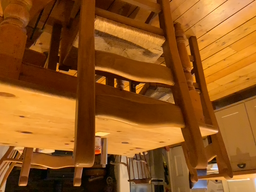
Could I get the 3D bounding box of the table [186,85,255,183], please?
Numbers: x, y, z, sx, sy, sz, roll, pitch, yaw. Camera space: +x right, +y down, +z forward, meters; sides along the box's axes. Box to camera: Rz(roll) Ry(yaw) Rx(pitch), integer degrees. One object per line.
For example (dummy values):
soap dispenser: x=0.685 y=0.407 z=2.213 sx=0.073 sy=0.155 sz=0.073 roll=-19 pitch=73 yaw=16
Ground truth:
table: x=1.810 y=0.380 z=2.290 sx=0.950 sy=0.930 sz=2.090 roll=13 pitch=152 yaw=-31

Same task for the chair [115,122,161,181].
chair: x=0.150 y=0.970 z=3.620 sx=0.550 sy=0.870 sz=0.500 roll=20 pitch=148 yaw=-40

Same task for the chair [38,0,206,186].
chair: x=-0.070 y=-0.140 z=1.010 sx=0.480 sy=1.020 sz=0.460 roll=10 pitch=153 yaw=-26
